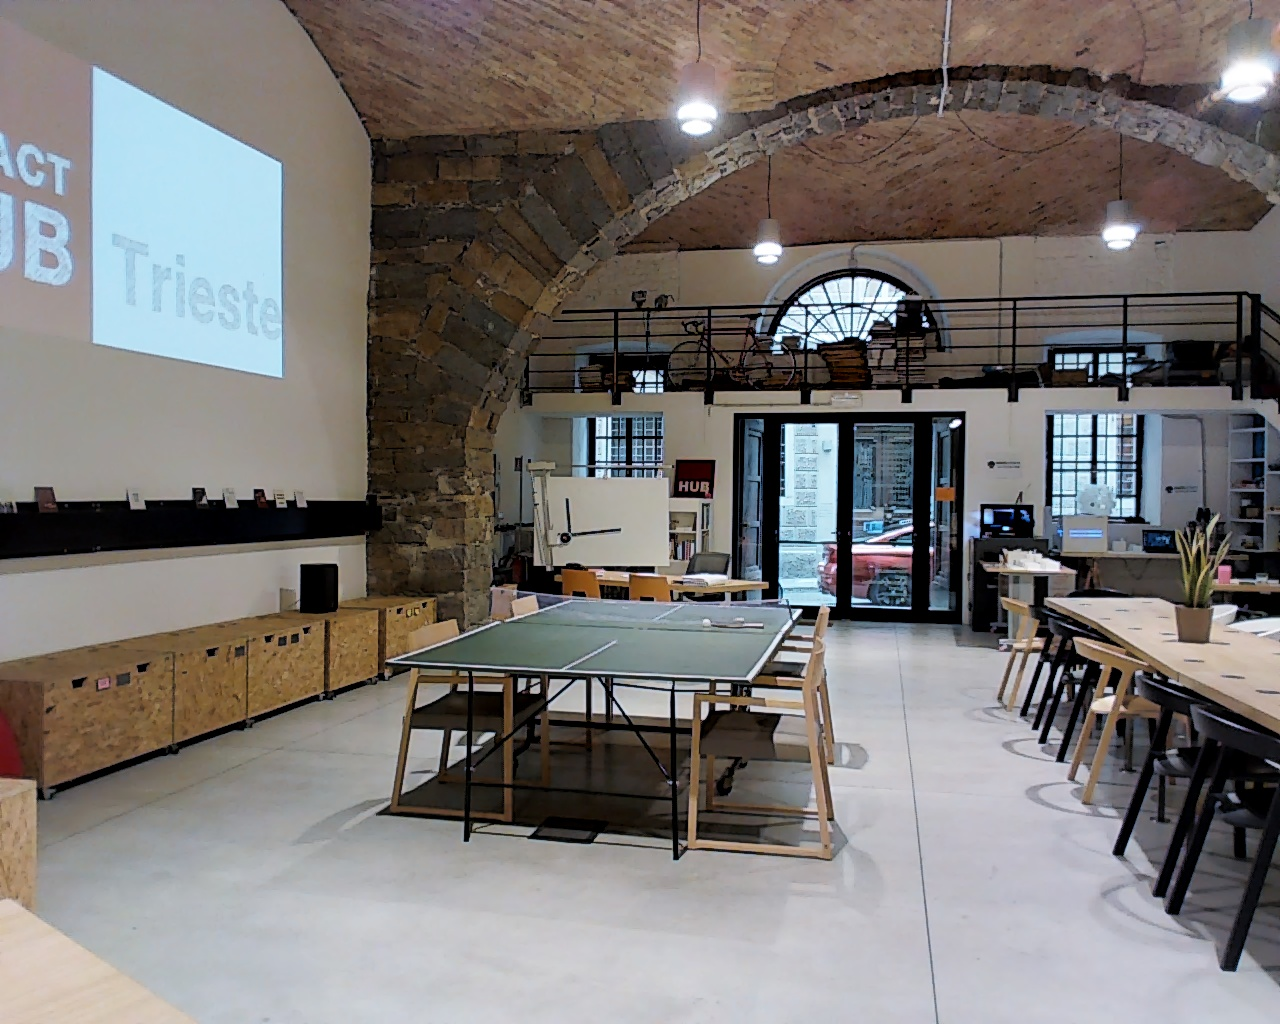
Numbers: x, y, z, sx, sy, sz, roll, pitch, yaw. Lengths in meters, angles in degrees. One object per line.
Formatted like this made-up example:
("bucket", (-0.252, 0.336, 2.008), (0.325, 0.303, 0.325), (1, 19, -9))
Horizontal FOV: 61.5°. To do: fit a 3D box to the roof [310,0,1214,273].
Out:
("roof", (1.330, -3.631, 11.030), (6.548, 0.790, 6.650), (1, 1, 13))
